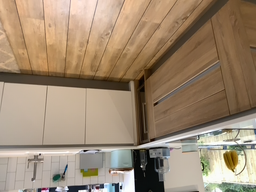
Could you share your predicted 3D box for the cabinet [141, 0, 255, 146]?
[{"bbox_3d":[0.660,-0.060,2.010,0.590,0.930,1.220,3,161,-19],"label":"cabinet"}]
